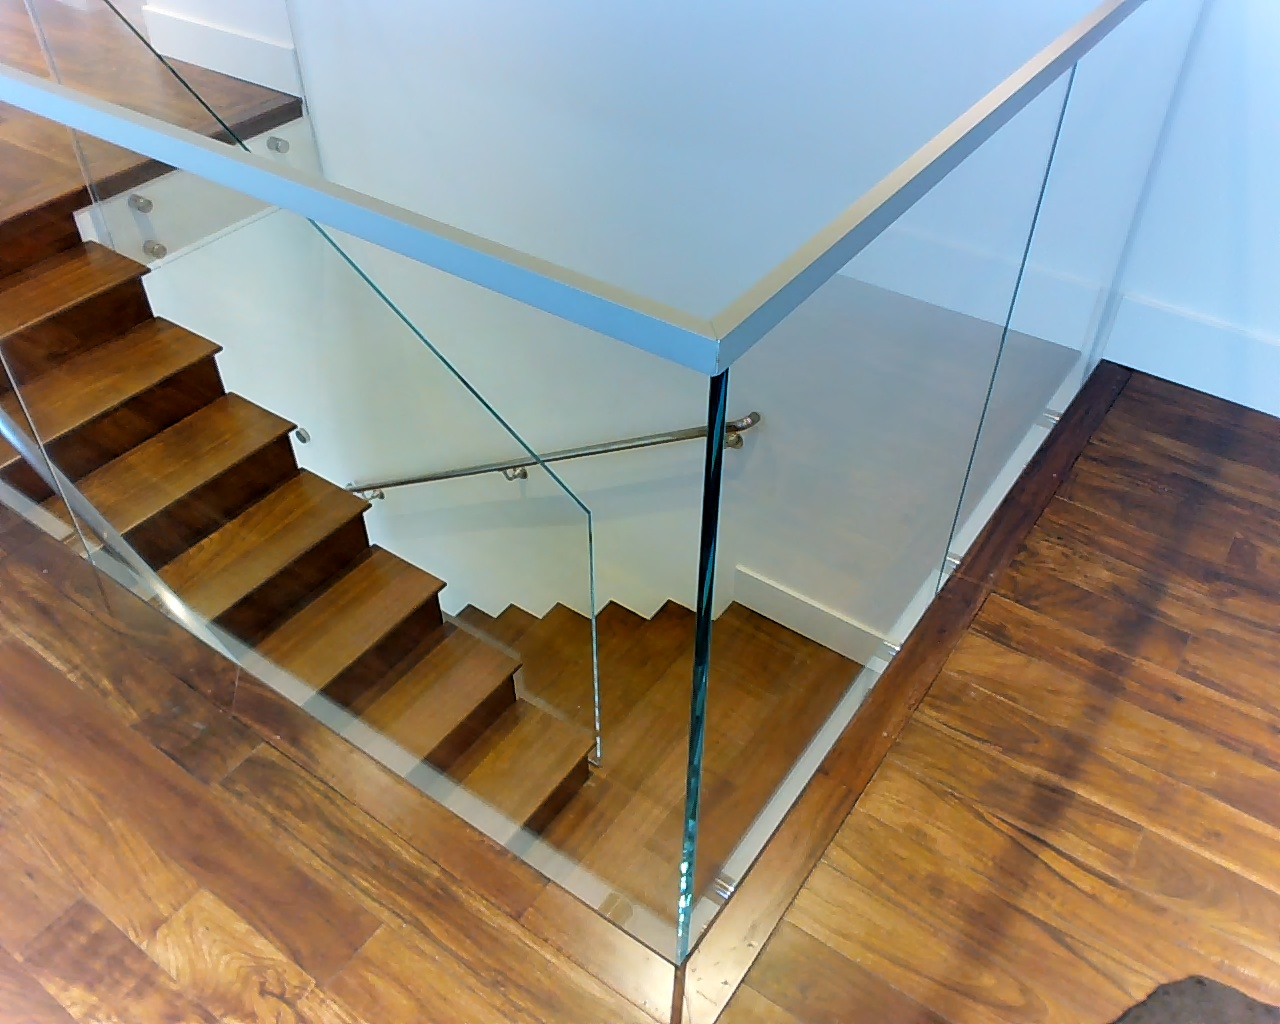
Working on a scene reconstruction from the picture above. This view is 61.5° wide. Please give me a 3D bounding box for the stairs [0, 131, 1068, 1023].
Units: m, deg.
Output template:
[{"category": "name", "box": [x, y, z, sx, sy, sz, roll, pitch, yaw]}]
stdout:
[{"category": "stairs", "box": [-0.700, 0.770, 4.010, 3.140, 3.050, 2.040, 25, 47, 26]}]
